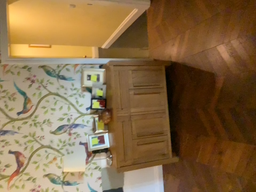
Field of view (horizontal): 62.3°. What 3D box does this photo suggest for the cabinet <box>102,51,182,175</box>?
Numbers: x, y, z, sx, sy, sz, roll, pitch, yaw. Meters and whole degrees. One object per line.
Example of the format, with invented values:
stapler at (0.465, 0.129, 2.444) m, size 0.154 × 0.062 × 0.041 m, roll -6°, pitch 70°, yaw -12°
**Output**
cabinet at (0.170, 0.190, 2.890) m, size 0.520 × 0.840 × 1.460 m, roll 171°, pitch 96°, yaw -68°
